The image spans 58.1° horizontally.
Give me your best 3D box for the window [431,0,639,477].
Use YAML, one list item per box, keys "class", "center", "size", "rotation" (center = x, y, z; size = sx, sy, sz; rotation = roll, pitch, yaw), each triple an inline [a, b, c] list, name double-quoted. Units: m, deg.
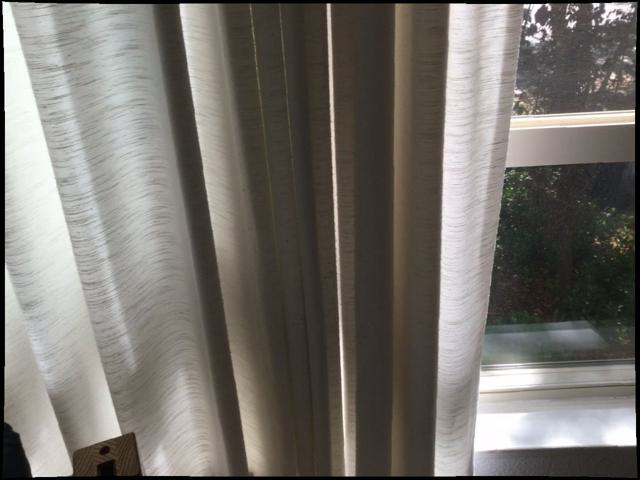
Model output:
- class: "window"
  center: [0.509, -0.120, 0.930]
  size: [0.539, 1.192, 0.210]
  rotation: [-2, 29, -1]
